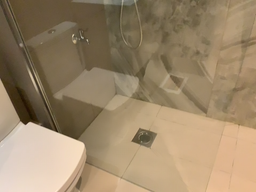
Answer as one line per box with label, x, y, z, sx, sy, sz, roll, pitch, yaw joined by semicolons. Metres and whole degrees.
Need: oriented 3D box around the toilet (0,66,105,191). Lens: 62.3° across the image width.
toilet;-0.520;0.310;1.040;0.590;0.760;0.400;15;43;23
